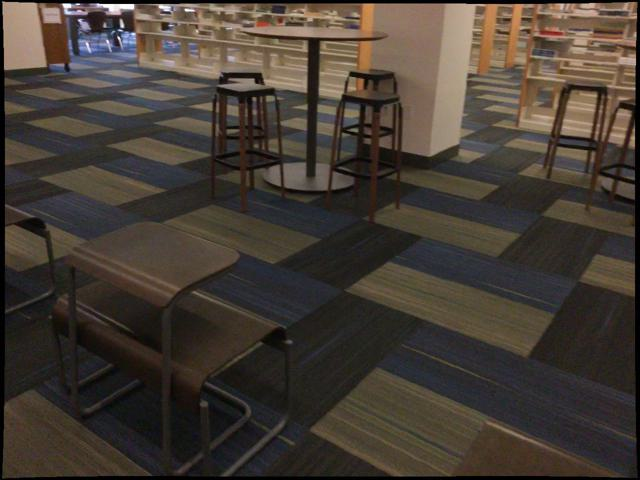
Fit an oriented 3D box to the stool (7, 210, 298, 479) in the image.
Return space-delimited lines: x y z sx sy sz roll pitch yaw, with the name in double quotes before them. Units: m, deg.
"stool" -0.509 0.361 1.880 0.729 0.651 0.450 15 30 23
